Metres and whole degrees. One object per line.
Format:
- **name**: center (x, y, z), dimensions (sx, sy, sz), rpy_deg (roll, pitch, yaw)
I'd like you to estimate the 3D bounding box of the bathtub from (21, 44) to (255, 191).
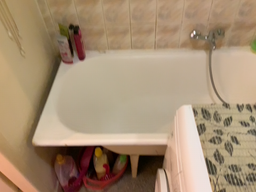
- **bathtub**: center (0.230, 0.140, 1.380), dimensions (1.380, 0.610, 0.700), rpy_deg (-1, 47, 2)
